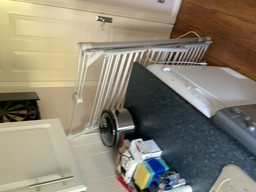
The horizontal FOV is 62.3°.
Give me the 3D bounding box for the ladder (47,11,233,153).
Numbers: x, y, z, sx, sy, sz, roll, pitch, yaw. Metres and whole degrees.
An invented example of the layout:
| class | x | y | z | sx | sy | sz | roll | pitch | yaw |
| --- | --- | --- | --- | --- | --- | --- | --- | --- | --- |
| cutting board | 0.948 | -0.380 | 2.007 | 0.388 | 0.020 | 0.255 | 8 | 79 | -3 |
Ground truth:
| class | x | y | z | sx | sy | sz | roll | pitch | yaw |
| --- | --- | --- | --- | --- | --- | --- | --- | --- | --- |
| ladder | 0.080 | -0.110 | 1.720 | 0.460 | 1.280 | 0.820 | 50 | 134 | 47 |
